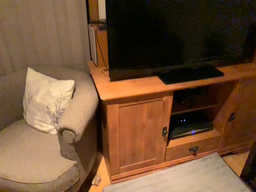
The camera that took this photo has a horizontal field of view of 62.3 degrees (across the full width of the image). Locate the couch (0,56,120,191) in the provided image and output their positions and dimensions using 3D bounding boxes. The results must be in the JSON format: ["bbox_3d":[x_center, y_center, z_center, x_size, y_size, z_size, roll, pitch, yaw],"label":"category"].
[{"bbox_3d":[-0.550,0.250,1.440,0.740,0.720,0.740,13,34,19],"label":"couch"}]
